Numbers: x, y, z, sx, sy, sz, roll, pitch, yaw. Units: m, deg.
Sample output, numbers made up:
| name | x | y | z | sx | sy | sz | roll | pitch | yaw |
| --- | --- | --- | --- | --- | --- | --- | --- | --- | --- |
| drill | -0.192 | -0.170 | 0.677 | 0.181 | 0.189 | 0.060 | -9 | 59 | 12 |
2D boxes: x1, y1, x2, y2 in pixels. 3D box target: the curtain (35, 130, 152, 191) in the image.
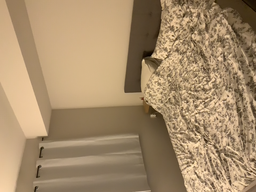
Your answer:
| name | x | y | z | sx | sy | sz | roll | pitch | yaw |
| --- | --- | --- | --- | --- | --- | --- | --- | --- | --- |
| curtain | -0.460 | 1.360 | 2.940 | 0.050 | 1.590 | 1.960 | 99 | 166 | -46 |
